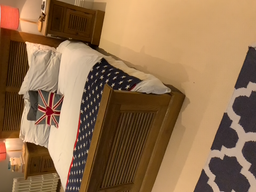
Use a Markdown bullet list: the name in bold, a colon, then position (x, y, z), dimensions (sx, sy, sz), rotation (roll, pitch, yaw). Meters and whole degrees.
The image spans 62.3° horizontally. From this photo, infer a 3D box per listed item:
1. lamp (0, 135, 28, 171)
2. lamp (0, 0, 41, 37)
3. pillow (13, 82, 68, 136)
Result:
- **lamp**: position (-1.850, 0.870, 3.230), dimensions (0.330, 0.510, 0.390), rotation (42, 121, 51)
- **lamp**: position (-1.420, -1.000, 2.730), dimensions (0.230, 0.480, 0.330), rotation (39, 119, 52)
- **pillow**: position (-1.100, 0.150, 2.700), dimensions (0.570, 0.230, 0.580), rotation (6, 108, 17)
